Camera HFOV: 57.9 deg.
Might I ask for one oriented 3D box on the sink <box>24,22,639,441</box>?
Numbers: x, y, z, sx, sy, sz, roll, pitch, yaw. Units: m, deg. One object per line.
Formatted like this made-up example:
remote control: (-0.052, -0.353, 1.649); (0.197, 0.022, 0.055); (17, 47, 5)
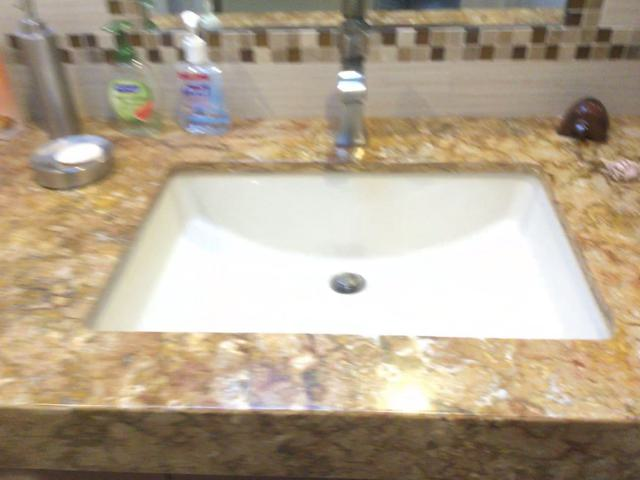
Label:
sink: (0.040, -0.050, 0.750); (0.550, 0.310, 0.490); (-1, 36, 0)
